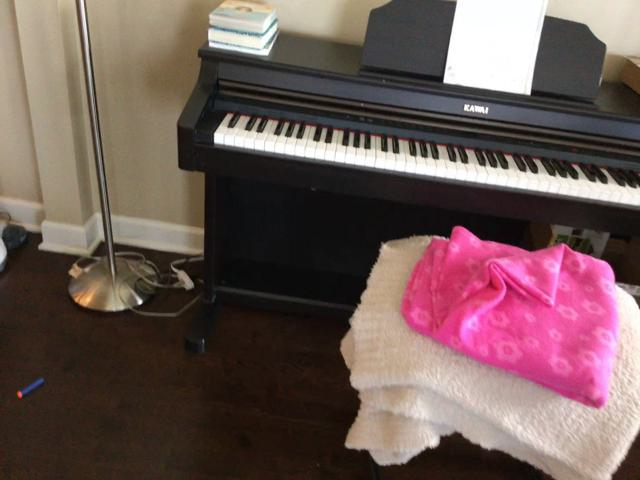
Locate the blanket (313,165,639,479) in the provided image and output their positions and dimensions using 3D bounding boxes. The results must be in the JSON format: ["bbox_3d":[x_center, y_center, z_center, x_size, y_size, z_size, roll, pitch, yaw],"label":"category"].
[{"bbox_3d":[0.350,0.280,1.290,0.640,0.640,0.510,9,35,1],"label":"blanket"}]

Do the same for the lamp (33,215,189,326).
[{"bbox_3d":[-0.670,0.090,1.920,0.370,0.110,0.370,8,35,1],"label":"lamp"}]

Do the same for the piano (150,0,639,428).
[{"bbox_3d":[0.370,-0.130,1.570,1.460,1.070,0.510,8,35,1],"label":"piano"}]
